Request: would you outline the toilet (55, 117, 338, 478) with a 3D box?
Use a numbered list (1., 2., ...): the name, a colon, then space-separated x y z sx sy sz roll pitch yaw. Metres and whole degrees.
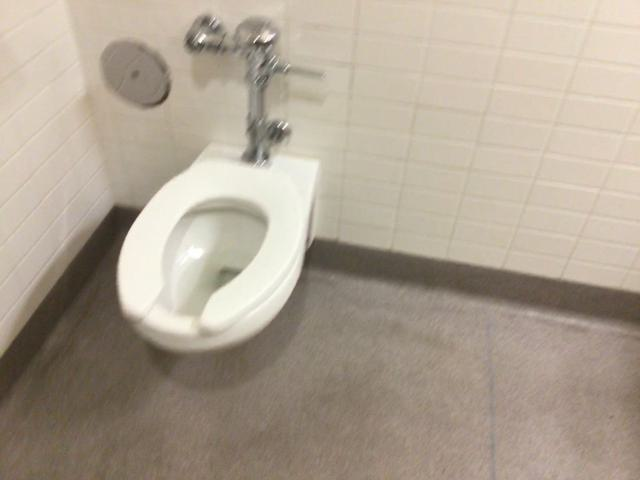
1. toilet: -0.220 0.110 1.380 0.390 0.500 0.630 10 42 7
